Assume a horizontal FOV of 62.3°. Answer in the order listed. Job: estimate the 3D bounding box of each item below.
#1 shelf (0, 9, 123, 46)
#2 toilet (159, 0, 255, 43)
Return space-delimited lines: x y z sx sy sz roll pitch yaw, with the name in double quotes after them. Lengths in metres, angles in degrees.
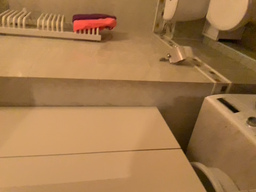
-0.560 -0.590 1.820 0.410 0.960 0.140 -115 30 -59 "shelf"
0.770 -0.750 1.810 0.670 0.770 0.370 -113 28 -57 "toilet"
